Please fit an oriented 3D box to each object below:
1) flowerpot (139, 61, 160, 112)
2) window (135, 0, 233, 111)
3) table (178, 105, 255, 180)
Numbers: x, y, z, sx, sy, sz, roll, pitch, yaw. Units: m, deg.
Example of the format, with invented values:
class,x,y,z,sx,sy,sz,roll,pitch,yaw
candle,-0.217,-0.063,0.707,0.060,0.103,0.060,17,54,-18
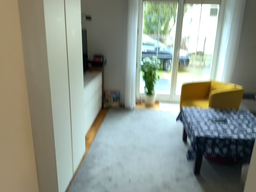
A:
class,x,y,z,sx,sy,sz,roll,pitch,yaw
flowerpot,0.460,-0.210,4.560,0.390,1.040,0.290,4,18,7
window,1.090,-0.960,4.530,1.790,2.510,0.250,4,18,8
table,1.230,0.540,2.730,1.030,0.500,0.920,4,18,7
